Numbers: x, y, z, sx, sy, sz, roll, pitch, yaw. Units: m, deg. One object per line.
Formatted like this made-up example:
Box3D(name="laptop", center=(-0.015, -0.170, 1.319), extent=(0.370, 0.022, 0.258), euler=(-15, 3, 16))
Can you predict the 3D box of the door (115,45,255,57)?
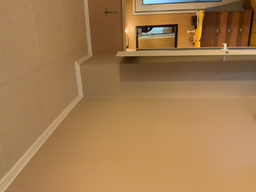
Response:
Box3D(name="door", center=(0.980, -0.460, 2.090), extent=(0.830, 2.120, 0.060), euler=(-74, -16, -75))
